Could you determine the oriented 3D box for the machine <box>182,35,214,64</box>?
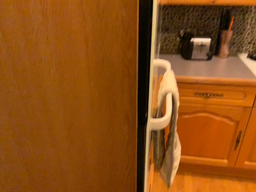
[{"bbox_3d":[0.560,-0.380,1.720,0.200,0.190,0.170,4,28,8],"label":"machine"}]
